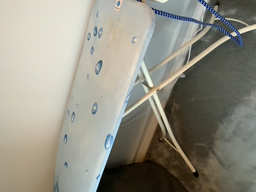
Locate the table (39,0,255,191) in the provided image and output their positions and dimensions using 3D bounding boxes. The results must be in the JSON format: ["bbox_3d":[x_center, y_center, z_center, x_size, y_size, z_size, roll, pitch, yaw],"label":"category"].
[{"bbox_3d":[0.140,0.070,1.250,0.560,0.860,1.610,39,117,46],"label":"table"}]
